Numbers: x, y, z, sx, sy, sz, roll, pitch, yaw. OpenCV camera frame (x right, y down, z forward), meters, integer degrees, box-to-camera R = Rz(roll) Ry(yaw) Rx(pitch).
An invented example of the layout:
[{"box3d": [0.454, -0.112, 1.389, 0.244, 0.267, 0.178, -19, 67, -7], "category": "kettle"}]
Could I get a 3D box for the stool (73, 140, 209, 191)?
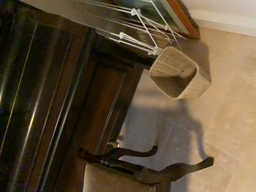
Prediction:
[{"box3d": [0.080, 0.540, 1.020, 0.370, 0.580, 0.580, 2, 84, 41], "category": "stool"}]
